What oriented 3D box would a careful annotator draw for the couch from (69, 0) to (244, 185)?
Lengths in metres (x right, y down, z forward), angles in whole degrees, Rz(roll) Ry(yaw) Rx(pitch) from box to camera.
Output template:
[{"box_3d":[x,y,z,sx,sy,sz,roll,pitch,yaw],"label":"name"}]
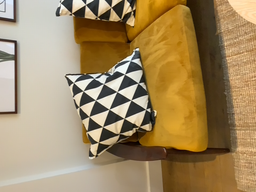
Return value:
[{"box_3d":[0.090,-0.460,1.560,0.910,0.730,1.790,-13,80,56],"label":"couch"}]
